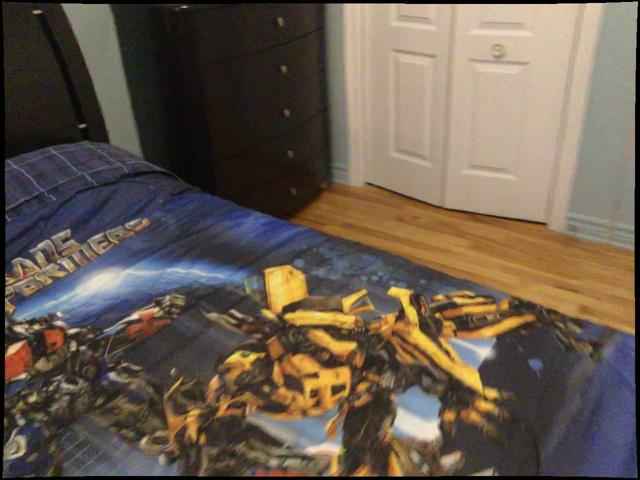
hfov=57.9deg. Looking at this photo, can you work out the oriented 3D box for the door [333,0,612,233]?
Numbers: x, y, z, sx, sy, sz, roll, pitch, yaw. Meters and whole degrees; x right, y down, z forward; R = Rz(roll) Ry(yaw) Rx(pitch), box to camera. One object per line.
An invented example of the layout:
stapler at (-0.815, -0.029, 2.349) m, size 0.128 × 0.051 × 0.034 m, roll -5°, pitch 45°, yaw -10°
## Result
door at (0.529, -1.111, 2.140) m, size 1.069 × 2.132 × 0.160 m, roll 17°, pitch 37°, yaw 30°
